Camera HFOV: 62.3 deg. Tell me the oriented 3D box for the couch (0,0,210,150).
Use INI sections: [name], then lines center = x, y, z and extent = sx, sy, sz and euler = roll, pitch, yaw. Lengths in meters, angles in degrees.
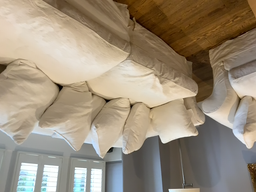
[couch]
center = -0.340, -0.170, 1.740
extent = 0.930, 0.810, 2.390
euler = -22, 149, 37
